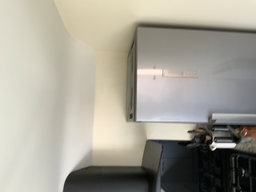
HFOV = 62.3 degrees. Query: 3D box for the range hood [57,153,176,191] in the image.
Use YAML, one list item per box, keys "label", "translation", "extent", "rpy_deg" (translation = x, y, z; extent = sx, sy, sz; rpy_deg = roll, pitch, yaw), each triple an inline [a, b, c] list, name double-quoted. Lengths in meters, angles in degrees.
- label: "range hood"
  translation: [-0.090, 0.770, 1.580]
  extent: [0.370, 0.780, 0.590]
  rpy_deg: [174, 98, -84]
